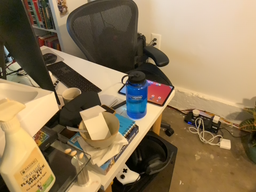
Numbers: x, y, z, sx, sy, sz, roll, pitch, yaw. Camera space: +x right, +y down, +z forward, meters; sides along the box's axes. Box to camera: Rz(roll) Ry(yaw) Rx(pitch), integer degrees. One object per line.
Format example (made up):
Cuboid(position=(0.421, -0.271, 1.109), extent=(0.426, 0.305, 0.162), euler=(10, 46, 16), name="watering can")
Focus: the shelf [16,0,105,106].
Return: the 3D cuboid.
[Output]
Cuboid(position=(-0.570, -0.650, 1.810), extent=(0.460, 1.470, 0.400), euler=(19, 44, 23), name="shelf")
